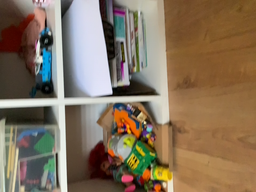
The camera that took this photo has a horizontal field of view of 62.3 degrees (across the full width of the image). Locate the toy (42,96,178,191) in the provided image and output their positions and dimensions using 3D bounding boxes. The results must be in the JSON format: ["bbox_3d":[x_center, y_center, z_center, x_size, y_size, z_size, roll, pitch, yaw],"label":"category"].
[{"bbox_3d":[-0.090,0.210,0.810,0.370,0.390,0.400,-4,88,61],"label":"toy"}]
